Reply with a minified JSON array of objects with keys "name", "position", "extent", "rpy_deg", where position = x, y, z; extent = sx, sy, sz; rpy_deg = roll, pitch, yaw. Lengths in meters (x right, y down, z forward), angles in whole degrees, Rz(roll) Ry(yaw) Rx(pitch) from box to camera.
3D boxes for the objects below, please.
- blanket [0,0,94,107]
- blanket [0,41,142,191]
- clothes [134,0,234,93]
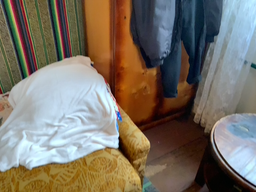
[{"name":"blanket","position":[-0.920,-0.440,1.490],"extent":[1.370,1.090,0.150],"rpy_deg":[-16,37,-27]},{"name":"blanket","position":[-0.510,0.000,1.410],"extent":[0.780,0.360,0.970],"rpy_deg":[-14,36,-25]},{"name":"clothes","position":[0.380,-0.570,1.370],"extent":[0.580,1.020,0.220],"rpy_deg":[-14,36,-25]}]
